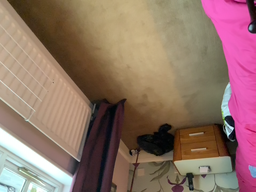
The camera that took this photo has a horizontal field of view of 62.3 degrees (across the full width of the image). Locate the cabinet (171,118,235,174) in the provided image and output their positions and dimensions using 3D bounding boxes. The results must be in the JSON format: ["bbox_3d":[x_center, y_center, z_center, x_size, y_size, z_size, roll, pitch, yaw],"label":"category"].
[{"bbox_3d":[0.800,0.560,2.290,0.560,0.380,0.450,-11,137,20],"label":"cabinet"}]
